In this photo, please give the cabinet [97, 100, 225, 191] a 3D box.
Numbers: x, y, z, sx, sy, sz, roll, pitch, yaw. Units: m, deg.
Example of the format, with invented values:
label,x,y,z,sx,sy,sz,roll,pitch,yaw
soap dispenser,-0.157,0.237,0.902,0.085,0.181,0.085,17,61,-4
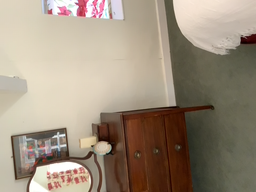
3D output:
label,x,y,z,sx,sy,sz,roll,pitch,yaw
cabinet,0.260,0.650,1.700,0.520,0.790,1.130,167,97,-67
